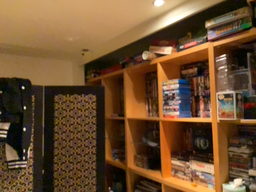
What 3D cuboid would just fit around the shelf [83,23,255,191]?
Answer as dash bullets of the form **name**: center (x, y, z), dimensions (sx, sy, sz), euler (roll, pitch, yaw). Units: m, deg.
- **shelf**: center (0.280, 0.730, 1.980), dimensions (0.420, 2.070, 2.450), euler (1, -4, -35)
